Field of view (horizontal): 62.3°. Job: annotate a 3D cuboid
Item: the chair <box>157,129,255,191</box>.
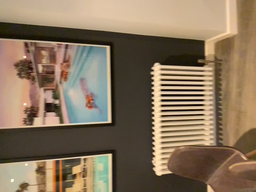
[{"bbox_3d":[0.710,0.570,1.470,0.470,0.800,0.440,-112,28,-47],"label":"chair"}]
